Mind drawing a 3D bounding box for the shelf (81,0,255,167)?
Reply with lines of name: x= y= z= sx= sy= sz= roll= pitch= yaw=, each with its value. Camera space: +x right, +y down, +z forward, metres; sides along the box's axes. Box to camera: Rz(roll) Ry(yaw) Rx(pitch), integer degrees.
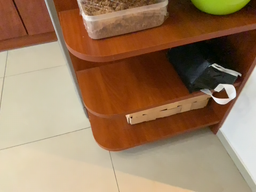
shelf: x=0.160 y=-0.110 z=0.750 sx=0.540 sy=0.850 sz=0.260 roll=-13 pitch=51 yaw=-9
